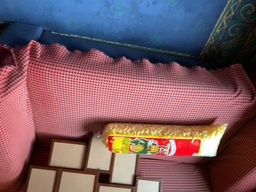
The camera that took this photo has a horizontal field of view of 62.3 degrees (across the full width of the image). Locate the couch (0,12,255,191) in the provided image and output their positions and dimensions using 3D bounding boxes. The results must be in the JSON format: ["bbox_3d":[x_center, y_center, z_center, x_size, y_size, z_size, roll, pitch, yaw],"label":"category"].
[{"bbox_3d":[0.010,0.310,1.240,1.450,0.830,1.030,7,134,-7],"label":"couch"}]

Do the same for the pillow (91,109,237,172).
[{"bbox_3d":[0.160,0.240,1.090,0.670,0.130,0.260,7,134,-7],"label":"pillow"}]
